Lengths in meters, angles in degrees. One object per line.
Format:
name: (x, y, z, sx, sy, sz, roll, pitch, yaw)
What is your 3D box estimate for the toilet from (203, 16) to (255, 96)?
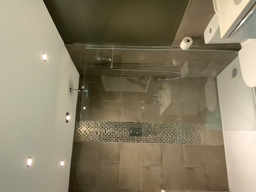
toilet: (1.220, -0.380, 2.110, 0.370, 0.770, 0.670, 95, 176, -73)
